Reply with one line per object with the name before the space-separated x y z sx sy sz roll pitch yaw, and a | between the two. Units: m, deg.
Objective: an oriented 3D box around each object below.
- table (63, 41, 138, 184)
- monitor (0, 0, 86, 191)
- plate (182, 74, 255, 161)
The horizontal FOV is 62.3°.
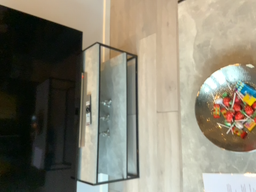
table | -0.220 0.140 1.780 0.400 0.440 1.010 -12 74 47
monitor | -0.630 0.040 1.390 0.070 0.720 1.220 -12 74 47
plate | 0.350 0.070 0.800 0.290 0.050 0.280 0 83 49
